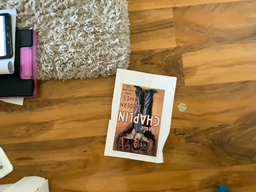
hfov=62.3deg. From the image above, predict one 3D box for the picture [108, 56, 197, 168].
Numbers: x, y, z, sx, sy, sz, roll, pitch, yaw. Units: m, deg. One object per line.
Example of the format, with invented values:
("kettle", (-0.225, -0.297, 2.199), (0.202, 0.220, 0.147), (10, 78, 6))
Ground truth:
("picture", (0.080, 0.050, 0.700), (0.250, 0.050, 0.330), (6, 87, 0))
